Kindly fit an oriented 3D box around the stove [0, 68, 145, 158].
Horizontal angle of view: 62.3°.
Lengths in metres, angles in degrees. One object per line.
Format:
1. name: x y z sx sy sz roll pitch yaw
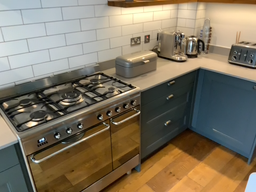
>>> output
1. stove: -0.420 0.030 1.600 0.930 0.140 0.620 -22 34 -37
